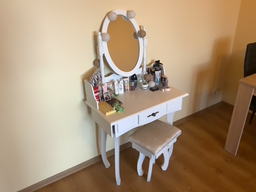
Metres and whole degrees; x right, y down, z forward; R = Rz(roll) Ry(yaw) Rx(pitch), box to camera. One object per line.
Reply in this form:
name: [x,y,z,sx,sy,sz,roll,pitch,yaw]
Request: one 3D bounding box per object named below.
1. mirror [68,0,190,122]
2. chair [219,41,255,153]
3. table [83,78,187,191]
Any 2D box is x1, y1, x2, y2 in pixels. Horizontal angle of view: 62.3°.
mirror: [0.020,-0.330,1.610,0.700,0.730,0.460,-20,32,-31]
chair: [1.320,0.010,2.120,0.370,0.990,0.480,-18,31,-29]
table: [0.070,0.320,1.890,0.710,0.710,0.460,-19,32,-31]
